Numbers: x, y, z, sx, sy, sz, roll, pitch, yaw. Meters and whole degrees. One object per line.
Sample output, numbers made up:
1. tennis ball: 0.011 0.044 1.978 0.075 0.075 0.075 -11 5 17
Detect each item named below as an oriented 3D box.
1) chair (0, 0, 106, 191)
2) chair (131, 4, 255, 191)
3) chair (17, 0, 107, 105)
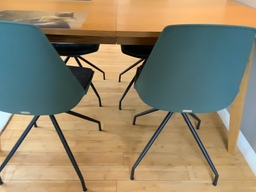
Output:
1. chair: -0.400 0.010 1.050 0.480 0.820 0.490 6 34 4
2. chair: 0.300 0.010 1.110 0.480 0.800 0.510 6 34 4
3. chair: -0.430 -0.410 1.670 0.480 0.800 0.520 1 34 -3
